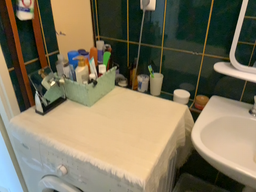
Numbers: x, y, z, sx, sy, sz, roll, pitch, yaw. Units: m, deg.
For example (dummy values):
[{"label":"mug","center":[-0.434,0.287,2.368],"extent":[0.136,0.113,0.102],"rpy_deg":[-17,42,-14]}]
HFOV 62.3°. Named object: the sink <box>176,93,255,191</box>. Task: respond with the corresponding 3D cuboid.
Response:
[{"label":"sink","center":[0.540,0.230,0.830],"extent":[0.560,0.180,0.420],"rpy_deg":[18,35,26]}]
